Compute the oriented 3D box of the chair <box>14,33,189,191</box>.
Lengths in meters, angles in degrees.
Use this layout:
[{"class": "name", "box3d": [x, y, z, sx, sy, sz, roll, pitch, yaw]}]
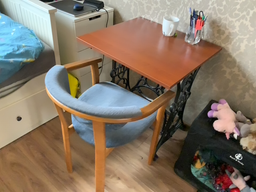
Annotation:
[{"class": "chair", "box3d": [-0.130, 0.150, 1.250, 0.590, 0.730, 0.590, 28, 44, 22]}]
